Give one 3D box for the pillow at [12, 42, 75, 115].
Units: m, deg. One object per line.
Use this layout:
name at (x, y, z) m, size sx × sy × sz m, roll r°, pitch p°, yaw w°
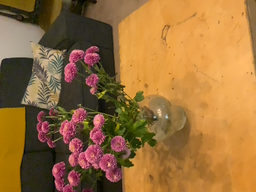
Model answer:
pillow at (-0.750, -0.150, 1.900) m, size 0.550 × 0.310 × 0.160 m, roll -65°, pitch -7°, yaw 3°
